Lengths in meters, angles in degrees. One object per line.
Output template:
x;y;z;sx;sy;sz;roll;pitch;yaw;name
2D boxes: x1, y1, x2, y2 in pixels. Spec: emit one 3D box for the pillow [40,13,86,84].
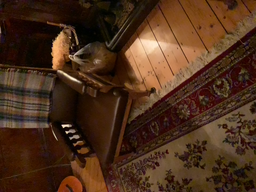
-0.680;-0.470;2.150;0.430;0.220;0.530;55;133;31;pillow
